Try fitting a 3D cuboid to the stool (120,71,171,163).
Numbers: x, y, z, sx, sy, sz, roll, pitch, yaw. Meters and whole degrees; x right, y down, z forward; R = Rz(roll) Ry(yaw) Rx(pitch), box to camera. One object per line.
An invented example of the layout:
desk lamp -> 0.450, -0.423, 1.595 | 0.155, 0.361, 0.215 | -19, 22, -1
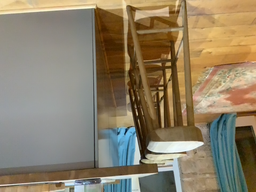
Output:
stool -> 0.150, 0.220, 2.110 | 0.380, 0.800, 0.400 | -5, 159, 1
